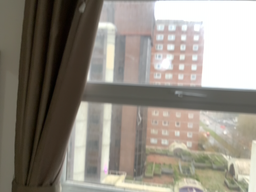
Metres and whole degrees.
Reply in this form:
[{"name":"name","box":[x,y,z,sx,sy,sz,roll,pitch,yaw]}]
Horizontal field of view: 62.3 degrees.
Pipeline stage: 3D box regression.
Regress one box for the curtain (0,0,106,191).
[{"name":"curtain","box":[-0.380,0.280,0.960,0.470,1.870,0.140,4,3,11]}]

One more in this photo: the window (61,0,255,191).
[{"name":"window","box":[0.250,0.270,1.080,1.200,1.670,0.100,3,3,10]}]
